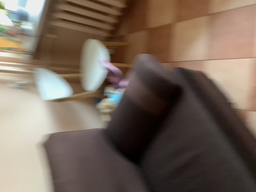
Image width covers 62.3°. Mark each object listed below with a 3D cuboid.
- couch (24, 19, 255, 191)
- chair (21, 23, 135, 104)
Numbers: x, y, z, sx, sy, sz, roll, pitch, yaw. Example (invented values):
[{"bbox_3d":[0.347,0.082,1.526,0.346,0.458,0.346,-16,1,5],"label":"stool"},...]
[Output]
[{"bbox_3d":[0.320,0.870,0.930,1.050,0.940,2.170,-51,52,36],"label":"couch"},{"bbox_3d":[-0.470,-0.260,2.010,0.430,0.850,0.510,-51,52,36],"label":"chair"}]
